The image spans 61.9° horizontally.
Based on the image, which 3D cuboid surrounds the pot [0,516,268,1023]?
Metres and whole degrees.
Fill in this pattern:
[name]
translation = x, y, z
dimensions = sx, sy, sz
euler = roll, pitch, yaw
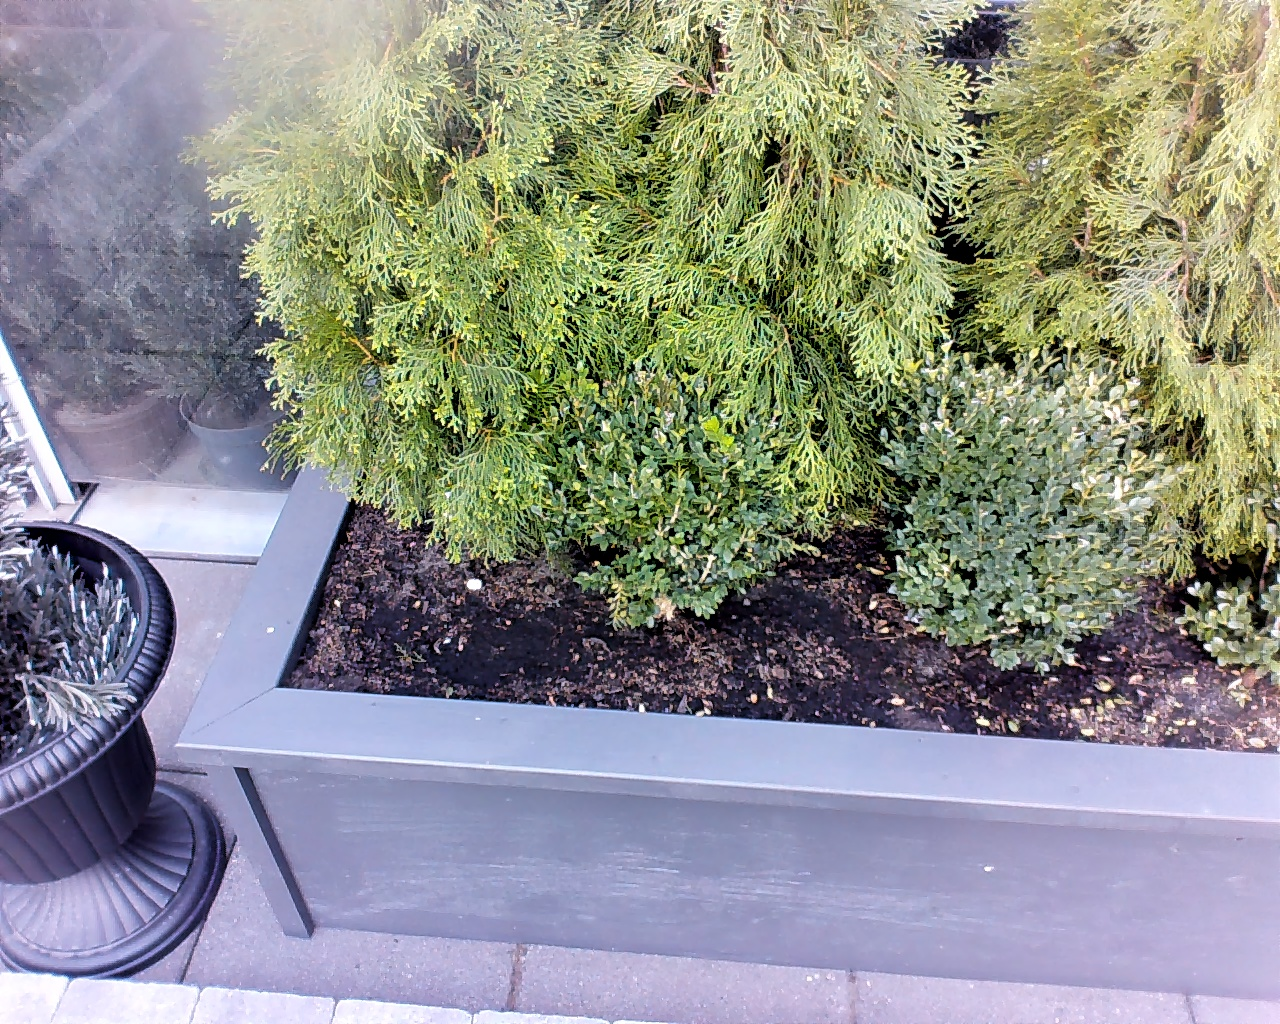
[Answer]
[pot]
translation = -0.770, 0.360, 1.400
dimensions = 0.420, 0.490, 0.440
euler = -8, 43, -9
